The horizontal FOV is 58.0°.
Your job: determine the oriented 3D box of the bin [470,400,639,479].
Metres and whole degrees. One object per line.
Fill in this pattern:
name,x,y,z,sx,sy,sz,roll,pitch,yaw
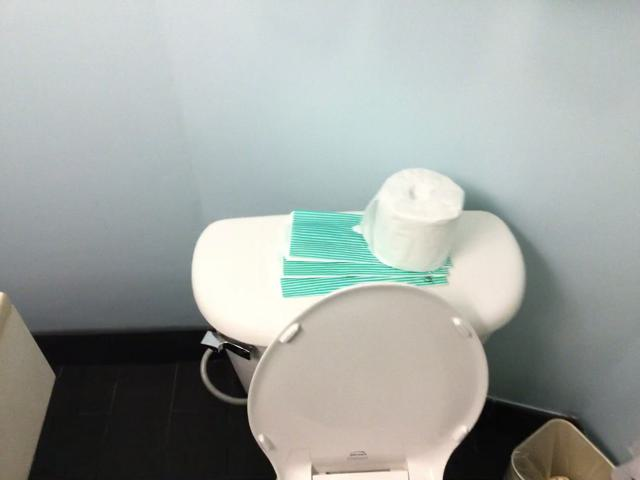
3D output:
bin,0.480,0.530,1.170,0.230,0.270,0.290,-2,47,-3
